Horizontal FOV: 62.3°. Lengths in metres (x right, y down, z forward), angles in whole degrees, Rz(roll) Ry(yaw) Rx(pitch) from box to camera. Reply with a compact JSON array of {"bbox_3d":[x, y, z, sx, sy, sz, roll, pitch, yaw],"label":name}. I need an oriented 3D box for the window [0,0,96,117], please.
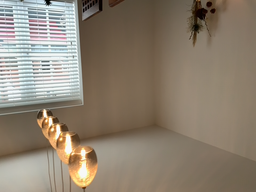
[{"bbox_3d":[-1.140,-0.490,2.430,1.530,1.380,0.110,-6,-170,-29],"label":"window"}]
